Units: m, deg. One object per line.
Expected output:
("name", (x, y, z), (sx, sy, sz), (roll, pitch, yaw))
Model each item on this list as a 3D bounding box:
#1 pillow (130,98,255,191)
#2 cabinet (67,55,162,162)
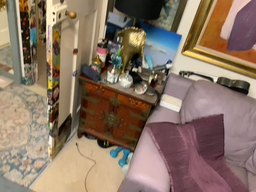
("pillow", (0.470, 0.370, 1.410), (0.670, 0.340, 0.670), (-3, 40, -23))
("cabinet", (-0.140, 0.110, 1.910), (0.640, 0.690, 0.400), (20, 36, 7))
